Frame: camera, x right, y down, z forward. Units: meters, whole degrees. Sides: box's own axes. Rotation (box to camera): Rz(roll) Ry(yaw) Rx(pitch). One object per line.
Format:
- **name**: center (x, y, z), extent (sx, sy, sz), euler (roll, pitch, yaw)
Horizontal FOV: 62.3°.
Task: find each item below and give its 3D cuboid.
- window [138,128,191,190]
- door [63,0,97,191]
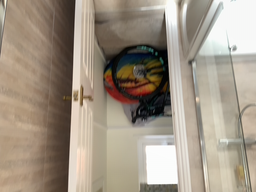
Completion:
- **window**: center (0.470, 0.840, 2.880), extent (0.640, 0.760, 0.230), euler (-2, 167, 3)
- **door**: center (-0.280, 0.080, 1.400), extent (0.090, 1.980, 0.820), euler (0, 167, -6)
